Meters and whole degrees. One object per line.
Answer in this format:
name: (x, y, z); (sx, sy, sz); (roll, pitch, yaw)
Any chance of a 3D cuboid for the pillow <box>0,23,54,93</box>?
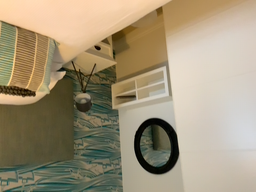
pillow: (-0.660, -0.210, 1.230); (0.130, 0.340, 0.380); (6, 179, 45)
